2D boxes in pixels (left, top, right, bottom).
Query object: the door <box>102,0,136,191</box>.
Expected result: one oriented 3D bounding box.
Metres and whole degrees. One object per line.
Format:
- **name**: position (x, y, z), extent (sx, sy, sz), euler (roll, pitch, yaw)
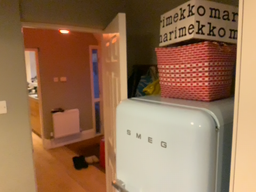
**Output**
- **door**: position (-0.090, 0.380, 1.790), extent (0.100, 2.030, 0.780), euler (-3, 9, -14)
